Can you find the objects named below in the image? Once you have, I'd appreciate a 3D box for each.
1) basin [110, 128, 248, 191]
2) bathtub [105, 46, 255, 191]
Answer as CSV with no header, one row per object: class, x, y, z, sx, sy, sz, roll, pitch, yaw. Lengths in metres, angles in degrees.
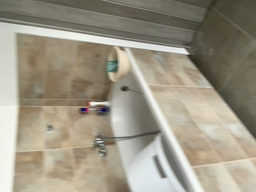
basin,0.260,0.490,1.290,0.520,0.560,0.330,117,146,-42
bathtub,0.390,0.340,1.590,1.380,0.700,0.700,-112,34,-42
